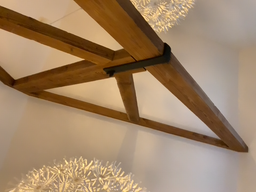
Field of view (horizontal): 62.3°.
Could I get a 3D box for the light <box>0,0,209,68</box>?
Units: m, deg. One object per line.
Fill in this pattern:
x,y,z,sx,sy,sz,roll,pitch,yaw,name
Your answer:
-0.300,-1.040,2.020,1.860,1.000,1.000,-2,-24,31,light
